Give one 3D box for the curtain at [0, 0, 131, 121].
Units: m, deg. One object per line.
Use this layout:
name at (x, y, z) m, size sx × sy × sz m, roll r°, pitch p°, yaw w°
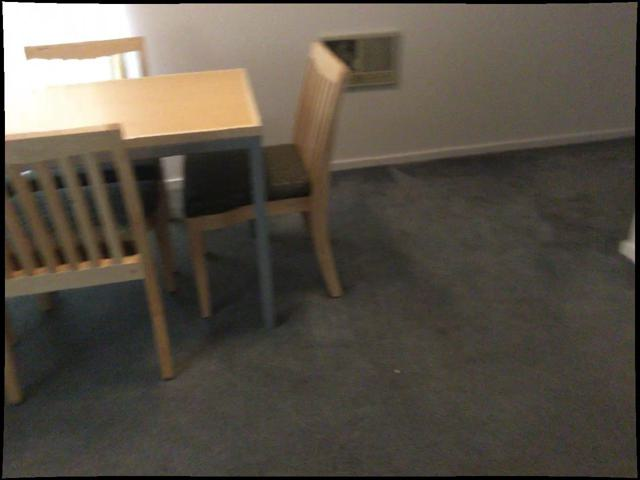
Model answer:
curtain at (-1.476, -1.043, 2.600) m, size 0.968 × 0.952 × 0.250 m, roll -7°, pitch 33°, yaw -5°
